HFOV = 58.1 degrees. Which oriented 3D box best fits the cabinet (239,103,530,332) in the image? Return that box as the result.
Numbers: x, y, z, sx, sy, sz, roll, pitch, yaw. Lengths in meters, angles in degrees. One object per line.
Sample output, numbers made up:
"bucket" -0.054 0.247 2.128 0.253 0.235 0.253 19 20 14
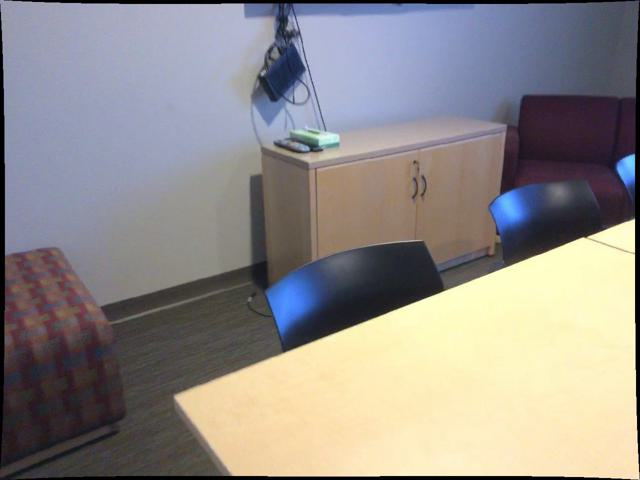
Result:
"cabinet" 0.349 -0.200 2.960 1.369 0.791 0.570 -15 26 -31
